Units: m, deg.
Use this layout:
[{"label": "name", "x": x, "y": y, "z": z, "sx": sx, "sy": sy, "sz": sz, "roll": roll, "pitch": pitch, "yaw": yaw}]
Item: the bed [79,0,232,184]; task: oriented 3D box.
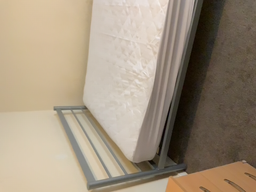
[{"label": "bed", "x": 0.080, "y": -0.540, "z": 2.060, "sx": 1.470, "sy": 0.520, "sz": 2.070, "roll": 38, "pitch": 123, "yaw": 54}]
